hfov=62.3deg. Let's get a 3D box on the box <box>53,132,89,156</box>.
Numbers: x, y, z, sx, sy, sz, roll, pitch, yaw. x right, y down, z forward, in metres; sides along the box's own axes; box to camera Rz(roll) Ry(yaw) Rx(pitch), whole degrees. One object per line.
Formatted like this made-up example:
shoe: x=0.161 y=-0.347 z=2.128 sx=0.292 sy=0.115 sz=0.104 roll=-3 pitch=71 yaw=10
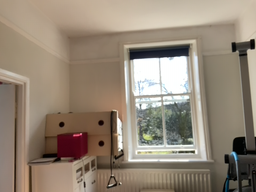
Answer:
box: x=-0.620 y=0.520 z=2.350 sx=0.300 sy=0.220 sz=0.340 roll=-3 pitch=-7 yaw=3
